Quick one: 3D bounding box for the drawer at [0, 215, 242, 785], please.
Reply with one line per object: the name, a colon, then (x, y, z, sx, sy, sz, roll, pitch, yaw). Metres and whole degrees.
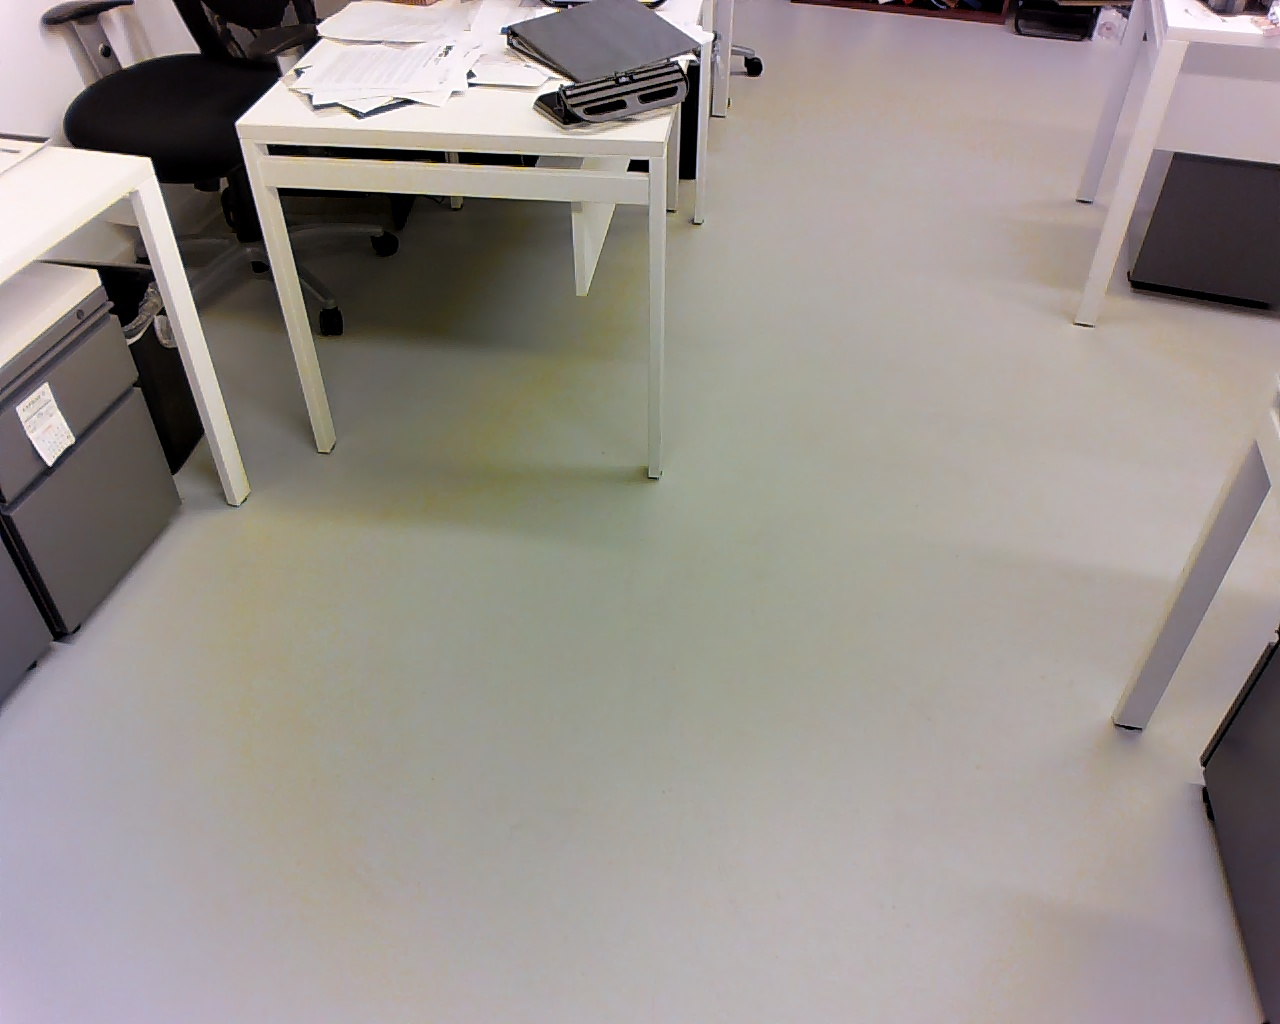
drawer: (-1.020, -0.010, 1.760, 0.160, 0.610, 0.830, 10, 43, 11)

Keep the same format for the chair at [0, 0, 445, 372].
chair: (-0.990, -1.040, 2.560, 0.680, 1.070, 0.790, 8, 43, 9)
